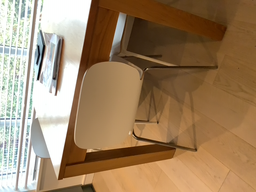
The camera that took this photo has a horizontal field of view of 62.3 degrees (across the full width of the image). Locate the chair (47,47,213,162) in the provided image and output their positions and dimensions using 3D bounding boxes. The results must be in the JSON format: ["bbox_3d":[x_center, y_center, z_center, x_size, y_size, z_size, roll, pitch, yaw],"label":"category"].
[{"bbox_3d":[0.010,0.020,1.220,0.430,0.780,0.430,30,113,54],"label":"chair"}]
